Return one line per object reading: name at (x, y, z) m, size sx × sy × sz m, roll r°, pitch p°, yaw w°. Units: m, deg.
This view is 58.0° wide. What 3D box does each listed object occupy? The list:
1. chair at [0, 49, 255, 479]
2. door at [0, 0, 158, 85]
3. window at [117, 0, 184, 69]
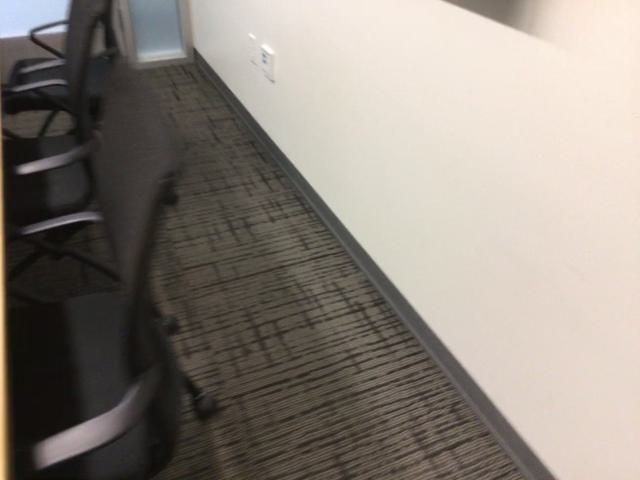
chair at (-0.500, 0.240, 0.970) m, size 0.620 × 0.890 × 0.600 m, roll -12°, pitch 37°, yaw -20°
door at (-1.510, -1.530, 3.080) m, size 1.060 × 1.270 × 0.300 m, roll -12°, pitch 37°, yaw -20°
window at (-1.030, -1.670, 3.330) m, size 0.340 × 1.300 × 0.140 m, roll -12°, pitch 37°, yaw -20°
